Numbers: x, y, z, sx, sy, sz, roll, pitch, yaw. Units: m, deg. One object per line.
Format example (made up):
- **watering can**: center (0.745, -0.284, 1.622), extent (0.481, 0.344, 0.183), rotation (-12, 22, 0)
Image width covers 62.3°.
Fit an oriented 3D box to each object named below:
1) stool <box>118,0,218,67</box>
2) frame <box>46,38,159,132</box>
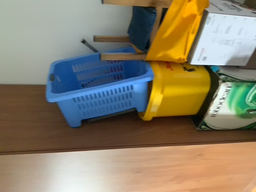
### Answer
- **stool**: center (0.180, -0.450, 1.230), extent (0.450, 0.370, 0.370), rotation (-107, 22, -52)
- **frame**: center (-0.180, -0.090, 1.350), extent (0.530, 0.560, 0.330), rotation (-107, 22, -52)
